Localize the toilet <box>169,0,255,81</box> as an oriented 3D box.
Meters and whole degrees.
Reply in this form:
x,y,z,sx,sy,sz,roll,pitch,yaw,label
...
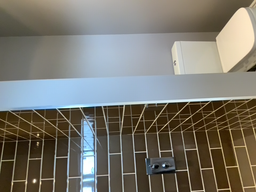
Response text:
x,y,z,sx,sy,sz,roll,pitch,yaw,label
0.810,-0.420,1.670,0.600,0.810,0.380,99,168,-70,toilet
